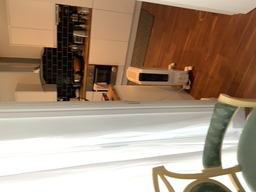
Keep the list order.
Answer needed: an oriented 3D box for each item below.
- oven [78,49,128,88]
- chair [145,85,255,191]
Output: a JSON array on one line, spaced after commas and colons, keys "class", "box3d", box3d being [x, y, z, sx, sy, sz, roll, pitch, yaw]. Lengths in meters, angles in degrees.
[{"class": "oven", "box3d": [-0.560, -0.590, 4.560, 0.630, 0.910, 0.600, -119, 34, -54]}, {"class": "chair", "box3d": [0.680, 0.340, 1.040, 0.630, 0.940, 0.530, -117, 33, -52]}]
